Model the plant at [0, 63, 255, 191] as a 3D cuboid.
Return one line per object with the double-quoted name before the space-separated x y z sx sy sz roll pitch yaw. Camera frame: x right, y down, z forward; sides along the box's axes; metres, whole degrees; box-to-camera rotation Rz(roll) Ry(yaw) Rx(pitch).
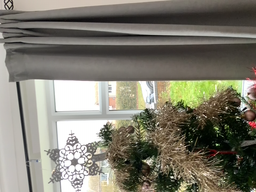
"plant" 0.600 0.180 0.870 0.660 1.790 0.610 -113 22 -79
